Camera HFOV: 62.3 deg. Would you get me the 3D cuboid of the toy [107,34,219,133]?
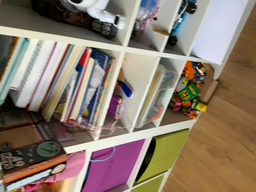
[{"bbox_3d":[0.180,-0.080,1.180,0.380,0.350,0.360,38,118,38],"label":"toy"}]
